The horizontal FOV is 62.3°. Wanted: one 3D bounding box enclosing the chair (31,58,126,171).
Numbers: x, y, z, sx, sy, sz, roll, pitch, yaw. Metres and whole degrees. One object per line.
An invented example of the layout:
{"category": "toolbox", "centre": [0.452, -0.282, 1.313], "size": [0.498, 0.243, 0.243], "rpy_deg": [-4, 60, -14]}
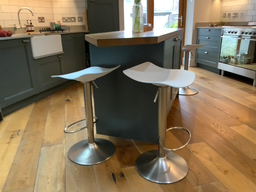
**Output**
{"category": "chair", "centre": [-0.340, 0.090, 1.590], "size": [0.450, 0.640, 0.450], "rpy_deg": [14, 24, 36]}
